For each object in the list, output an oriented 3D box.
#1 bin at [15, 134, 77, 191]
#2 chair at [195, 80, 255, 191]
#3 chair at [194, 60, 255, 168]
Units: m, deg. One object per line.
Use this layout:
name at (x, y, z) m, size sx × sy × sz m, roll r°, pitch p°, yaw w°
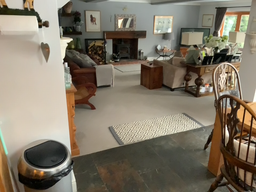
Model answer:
bin at (-0.670, 0.730, 1.780) m, size 0.390 × 0.630 × 0.390 m, roll -10°, pitch 22°, yaw -26°
chair at (1.080, 0.490, 1.780) m, size 0.670 × 1.120 × 0.550 m, roll -5°, pitch 21°, yaw -16°
chair at (1.320, 0.180, 2.670) m, size 0.540 × 1.130 × 0.630 m, roll -9°, pitch 22°, yaw -24°
